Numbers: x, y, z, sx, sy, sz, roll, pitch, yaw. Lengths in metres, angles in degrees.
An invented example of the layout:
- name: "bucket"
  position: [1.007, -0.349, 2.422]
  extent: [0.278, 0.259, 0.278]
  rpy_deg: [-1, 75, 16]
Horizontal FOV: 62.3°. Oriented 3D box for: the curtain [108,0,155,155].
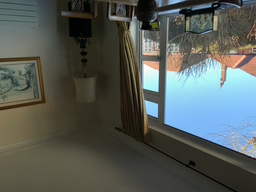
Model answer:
- name: "curtain"
  position: [0.030, -0.570, 2.770]
  extent: [0.230, 2.590, 0.670]
  rpy_deg: [-10, -164, -34]
